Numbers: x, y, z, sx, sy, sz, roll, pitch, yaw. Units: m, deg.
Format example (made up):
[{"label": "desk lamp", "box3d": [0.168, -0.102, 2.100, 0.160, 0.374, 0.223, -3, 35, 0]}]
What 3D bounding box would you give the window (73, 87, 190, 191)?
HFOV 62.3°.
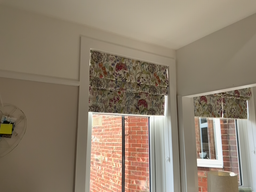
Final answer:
[{"label": "window", "box3d": [0.040, 0.640, 2.170, 1.030, 1.290, 0.540, 6, -11, -28]}]
